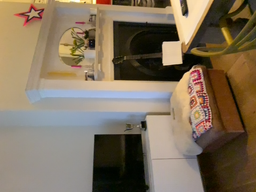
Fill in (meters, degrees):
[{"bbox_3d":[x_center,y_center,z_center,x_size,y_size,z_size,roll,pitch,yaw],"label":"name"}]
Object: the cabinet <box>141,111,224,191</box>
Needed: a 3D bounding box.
[{"bbox_3d":[0.550,0.920,2.200,0.460,0.640,1.470,103,165,-60],"label":"cabinet"}]
